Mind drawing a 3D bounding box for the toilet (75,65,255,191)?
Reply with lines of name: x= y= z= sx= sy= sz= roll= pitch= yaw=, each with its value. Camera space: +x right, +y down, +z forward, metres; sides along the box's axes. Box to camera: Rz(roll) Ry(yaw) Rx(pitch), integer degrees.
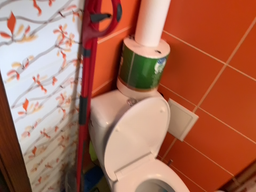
toilet: x=0.070 y=0.410 z=1.070 sx=0.390 sy=0.810 sz=0.700 roll=-17 pitch=53 yaw=-30
